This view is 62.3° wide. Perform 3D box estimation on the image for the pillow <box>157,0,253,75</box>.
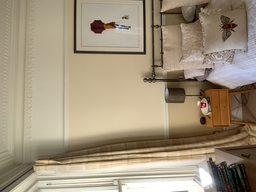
[{"bbox_3d":[0.720,-0.590,2.330,1.130,0.550,0.540,141,129,-83],"label":"pillow"}]
